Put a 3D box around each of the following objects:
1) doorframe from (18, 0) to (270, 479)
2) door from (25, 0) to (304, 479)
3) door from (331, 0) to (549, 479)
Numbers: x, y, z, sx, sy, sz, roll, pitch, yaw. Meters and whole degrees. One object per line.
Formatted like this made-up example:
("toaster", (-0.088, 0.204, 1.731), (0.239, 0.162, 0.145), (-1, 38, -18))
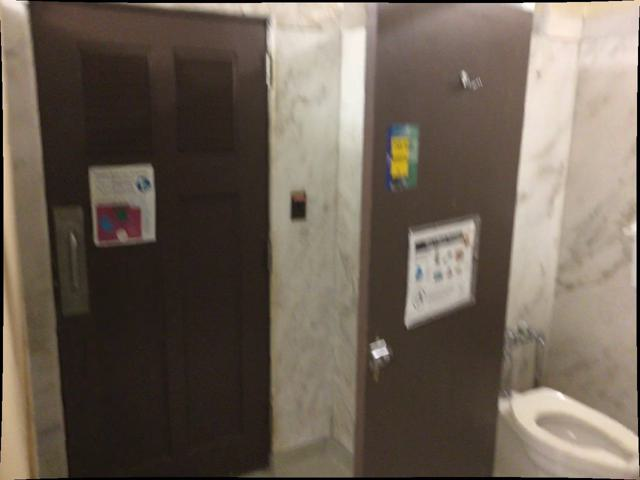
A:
("doorframe", (-0.580, 0.130, 2.140), (0.830, 2.002, 0.080), (-6, 14, -32))
("door", (-0.510, 0.100, 2.140), (0.909, 2.032, 0.160), (-6, 14, -32))
("door", (0.320, 0.180, 1.520), (0.140, 1.621, 0.690), (12, 16, 41))
